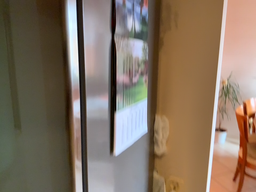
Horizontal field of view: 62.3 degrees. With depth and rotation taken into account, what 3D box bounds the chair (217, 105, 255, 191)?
[{"bbox_3d":[1.300,0.610,2.190,0.520,0.910,0.410,10,16,39],"label":"chair"}]
